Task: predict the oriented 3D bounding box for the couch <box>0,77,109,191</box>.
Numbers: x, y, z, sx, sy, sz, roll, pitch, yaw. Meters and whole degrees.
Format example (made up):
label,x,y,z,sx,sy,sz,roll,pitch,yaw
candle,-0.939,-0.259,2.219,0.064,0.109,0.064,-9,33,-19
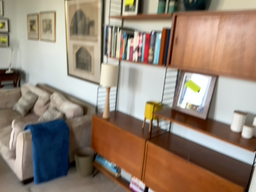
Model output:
label,x,y,z,sx,sy,sz,roll,pitch,yaw
couch,-1.400,0.330,3.080,1.160,0.800,2.060,-9,20,-44
